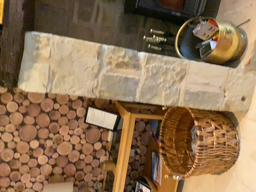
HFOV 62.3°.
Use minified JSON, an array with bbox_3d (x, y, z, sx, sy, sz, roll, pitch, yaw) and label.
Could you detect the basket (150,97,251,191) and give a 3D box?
[{"bbox_3d":[0.540,0.390,1.740,0.530,0.440,0.620,-145,63,-70],"label":"basket"}]
